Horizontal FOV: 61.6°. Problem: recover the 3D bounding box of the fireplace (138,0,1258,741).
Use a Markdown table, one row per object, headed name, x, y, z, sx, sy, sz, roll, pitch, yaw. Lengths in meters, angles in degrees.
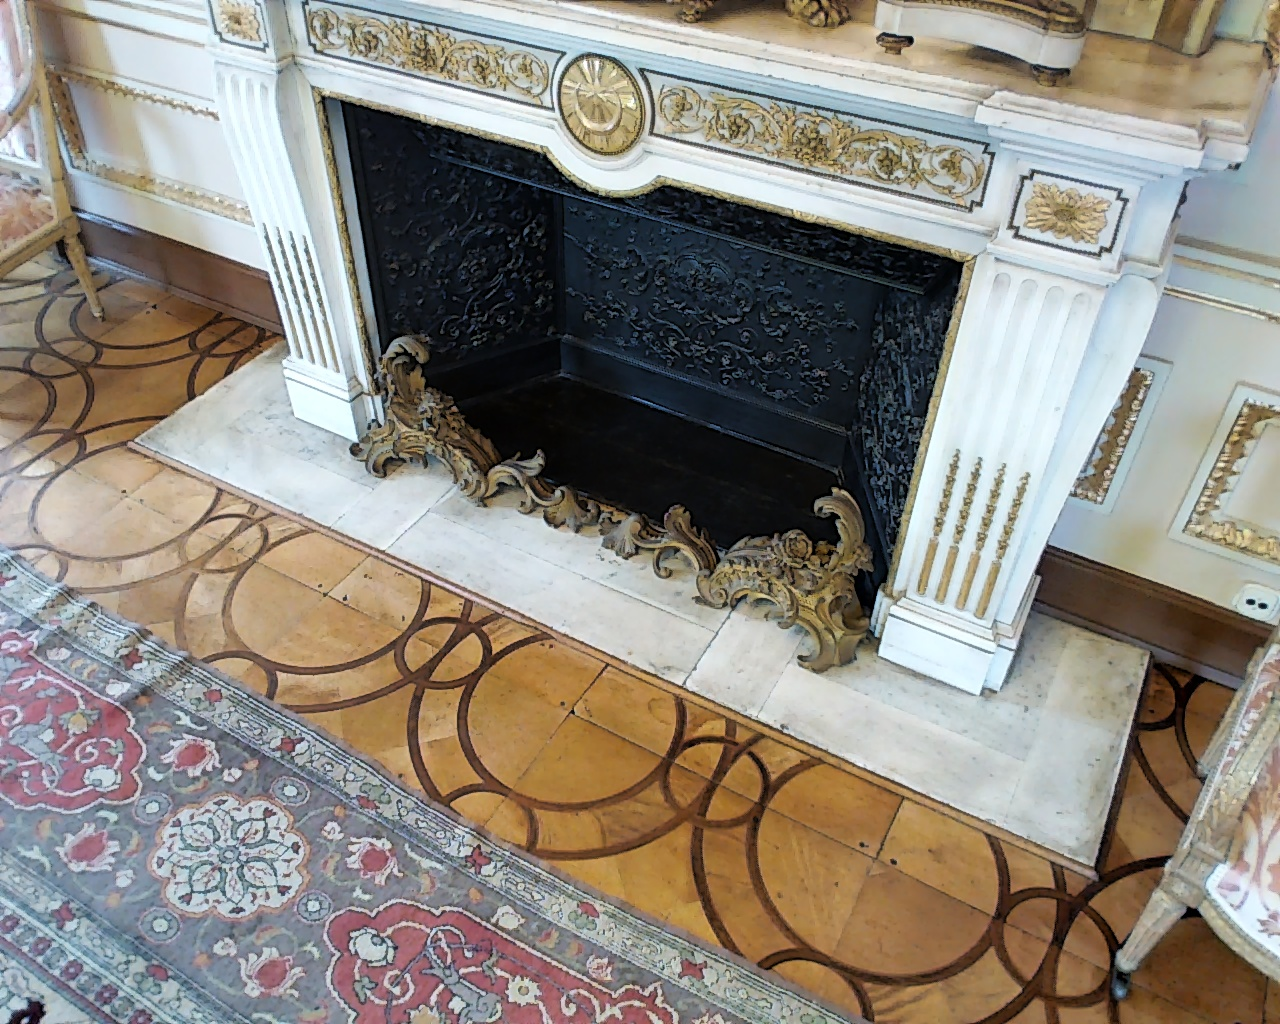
| name | x | y | z | sx | sy | sz | roll | pitch | yaw |
| --- | --- | --- | --- | --- | --- | --- | --- | --- | --- |
| fireplace | -0.020 | -0.460 | 2.190 | 1.880 | 1.210 | 0.500 | 21 | 45 | 21 |
